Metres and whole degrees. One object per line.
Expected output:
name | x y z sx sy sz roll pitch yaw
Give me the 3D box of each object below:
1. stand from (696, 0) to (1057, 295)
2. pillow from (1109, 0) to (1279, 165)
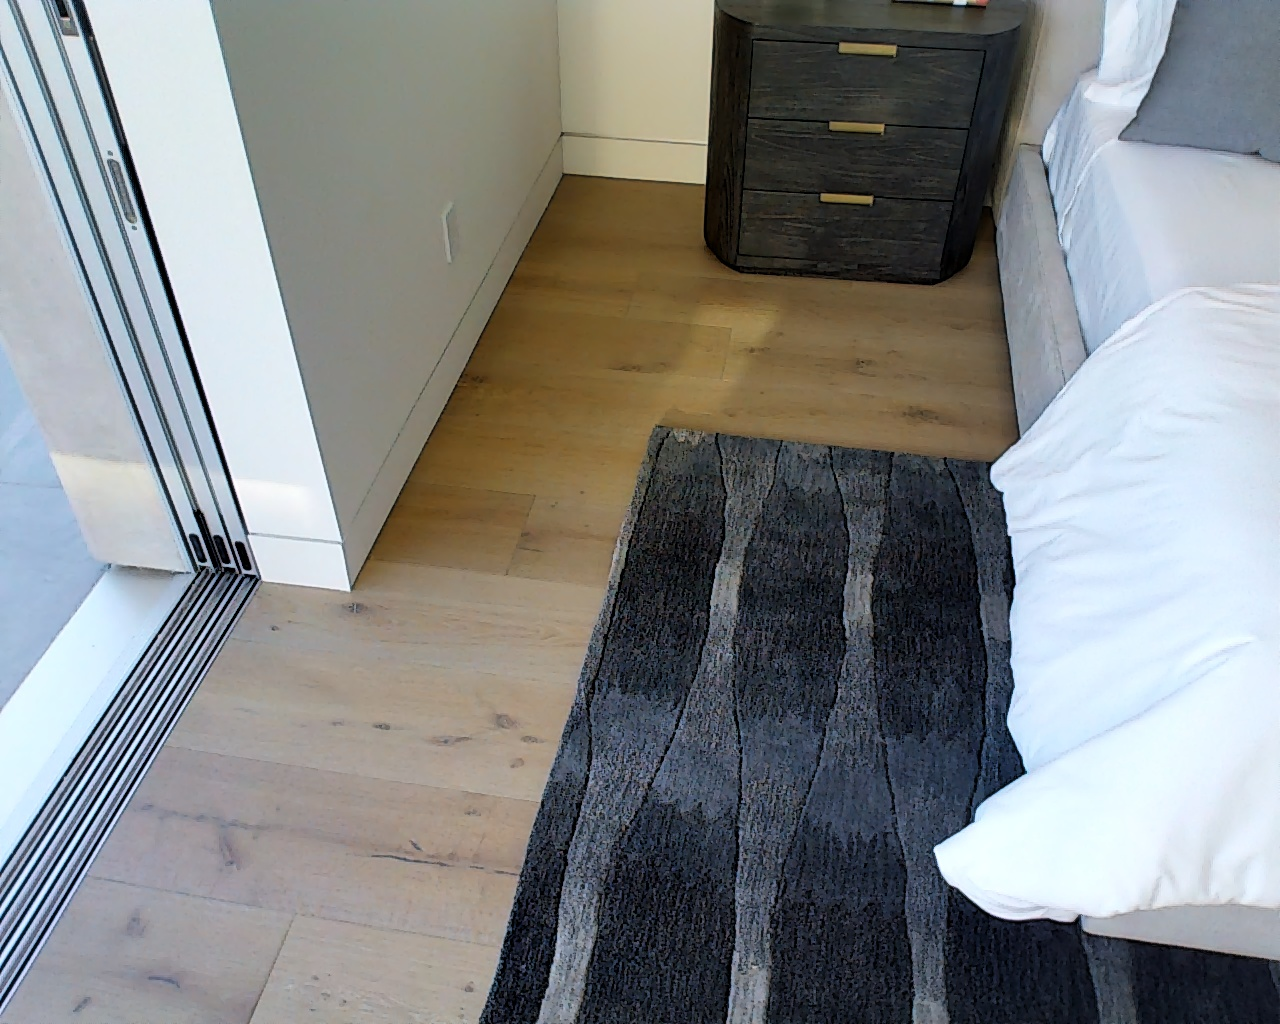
stand | 0.640 -1.100 3.100 0.860 0.650 0.570 7 43 7
pillow | 1.360 -1.010 2.310 0.520 0.350 0.410 18 45 19
